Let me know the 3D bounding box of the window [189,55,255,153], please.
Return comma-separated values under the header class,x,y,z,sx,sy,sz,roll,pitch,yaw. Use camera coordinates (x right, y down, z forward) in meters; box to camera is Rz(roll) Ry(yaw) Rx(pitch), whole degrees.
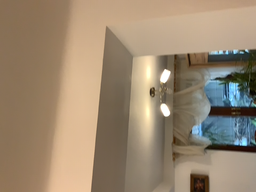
class,x,y,z,sx,sy,sz,roll,pitch,yaw
window,1.870,0.140,4.080,0.450,1.310,1.730,21,-110,-70
